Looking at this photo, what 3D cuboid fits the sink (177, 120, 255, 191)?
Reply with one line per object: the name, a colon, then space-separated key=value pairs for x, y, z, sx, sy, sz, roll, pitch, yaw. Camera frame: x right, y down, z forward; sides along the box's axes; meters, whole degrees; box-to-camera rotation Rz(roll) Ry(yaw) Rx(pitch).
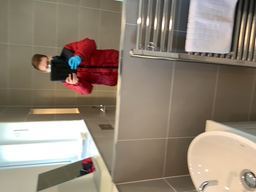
sink: x=0.430 y=0.350 z=0.870 sx=0.610 sy=0.100 sz=0.370 roll=-159 pitch=72 yaw=-69
